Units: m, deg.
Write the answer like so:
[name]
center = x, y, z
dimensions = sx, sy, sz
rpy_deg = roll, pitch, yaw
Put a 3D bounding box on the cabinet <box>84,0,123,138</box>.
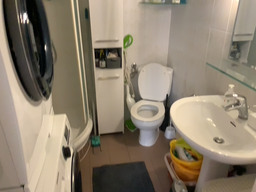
[cabinet]
center = -0.240, -0.410, 2.210
dimensions = 0.320, 1.810, 0.330
rpy_deg = -4, 26, -8
